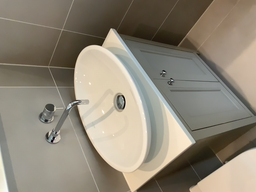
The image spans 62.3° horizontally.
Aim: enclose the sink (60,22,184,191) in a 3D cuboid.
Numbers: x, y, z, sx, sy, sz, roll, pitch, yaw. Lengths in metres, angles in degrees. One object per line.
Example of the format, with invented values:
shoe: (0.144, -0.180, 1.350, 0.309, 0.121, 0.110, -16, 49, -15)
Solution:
sink: (-0.090, 0.030, 0.900, 0.370, 0.100, 0.610, -54, 54, 34)
